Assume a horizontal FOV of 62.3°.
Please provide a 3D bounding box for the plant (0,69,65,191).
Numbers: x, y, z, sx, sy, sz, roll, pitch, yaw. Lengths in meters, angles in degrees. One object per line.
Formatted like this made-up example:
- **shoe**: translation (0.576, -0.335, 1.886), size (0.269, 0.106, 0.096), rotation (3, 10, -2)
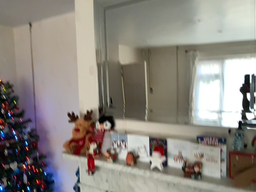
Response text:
- **plant**: translation (-1.270, 0.640, 2.090), size (0.770, 1.750, 0.930), rotation (1, 5, 28)
